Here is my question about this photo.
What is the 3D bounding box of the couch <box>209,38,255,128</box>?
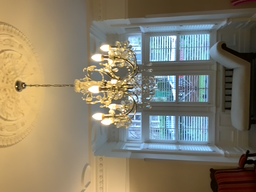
[{"bbox_3d":[2.040,-0.240,4.050,0.740,0.770,1.550,-24,-67,-81],"label":"couch"}]
